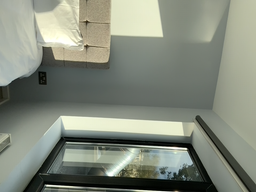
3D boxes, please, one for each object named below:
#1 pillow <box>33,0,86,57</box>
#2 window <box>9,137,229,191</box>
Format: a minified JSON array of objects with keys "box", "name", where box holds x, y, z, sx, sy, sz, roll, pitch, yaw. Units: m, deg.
[{"box":[-0.630,-0.810,1.960,0.100,0.450,0.860,-138,-130,-61],"name":"pillow"},{"box":[-0.030,0.780,0.970,2.300,1.440,0.080,-89,-178,-75],"name":"window"}]
